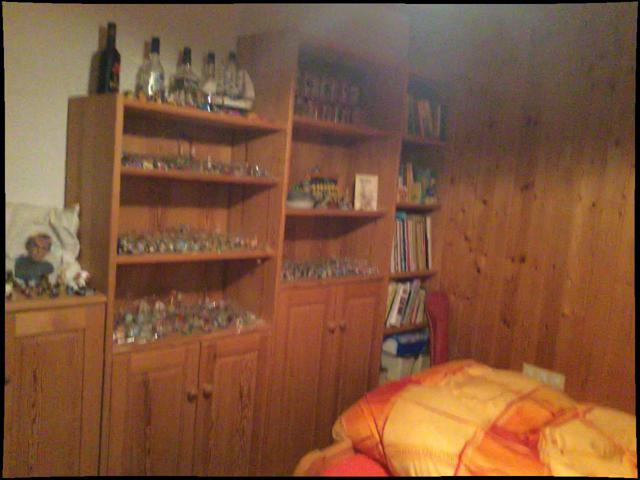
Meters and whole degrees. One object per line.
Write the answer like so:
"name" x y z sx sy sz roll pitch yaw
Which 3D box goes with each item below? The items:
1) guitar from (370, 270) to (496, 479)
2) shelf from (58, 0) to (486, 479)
"guitar" 0.599 0.691 3.110 0.430 0.961 0.390 -5 13 -43
"shelf" -0.110 0.120 2.740 1.999 2.132 0.520 -5 13 -43
